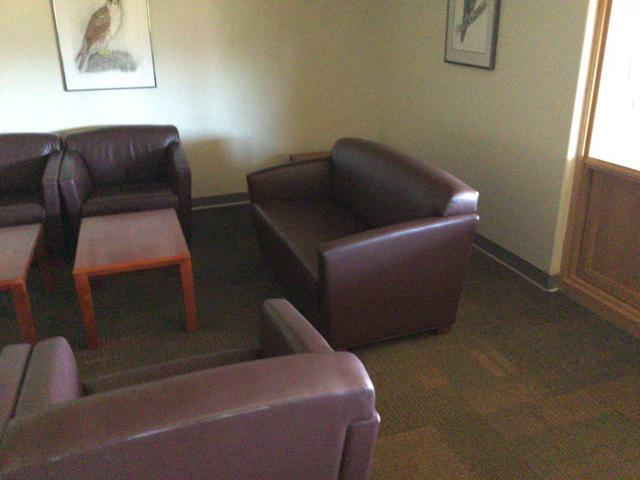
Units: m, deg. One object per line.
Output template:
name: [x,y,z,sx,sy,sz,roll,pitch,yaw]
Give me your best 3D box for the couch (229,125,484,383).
couch: [0.080,-0.060,2.910,0.740,0.760,1.370,-9,22,-18]
